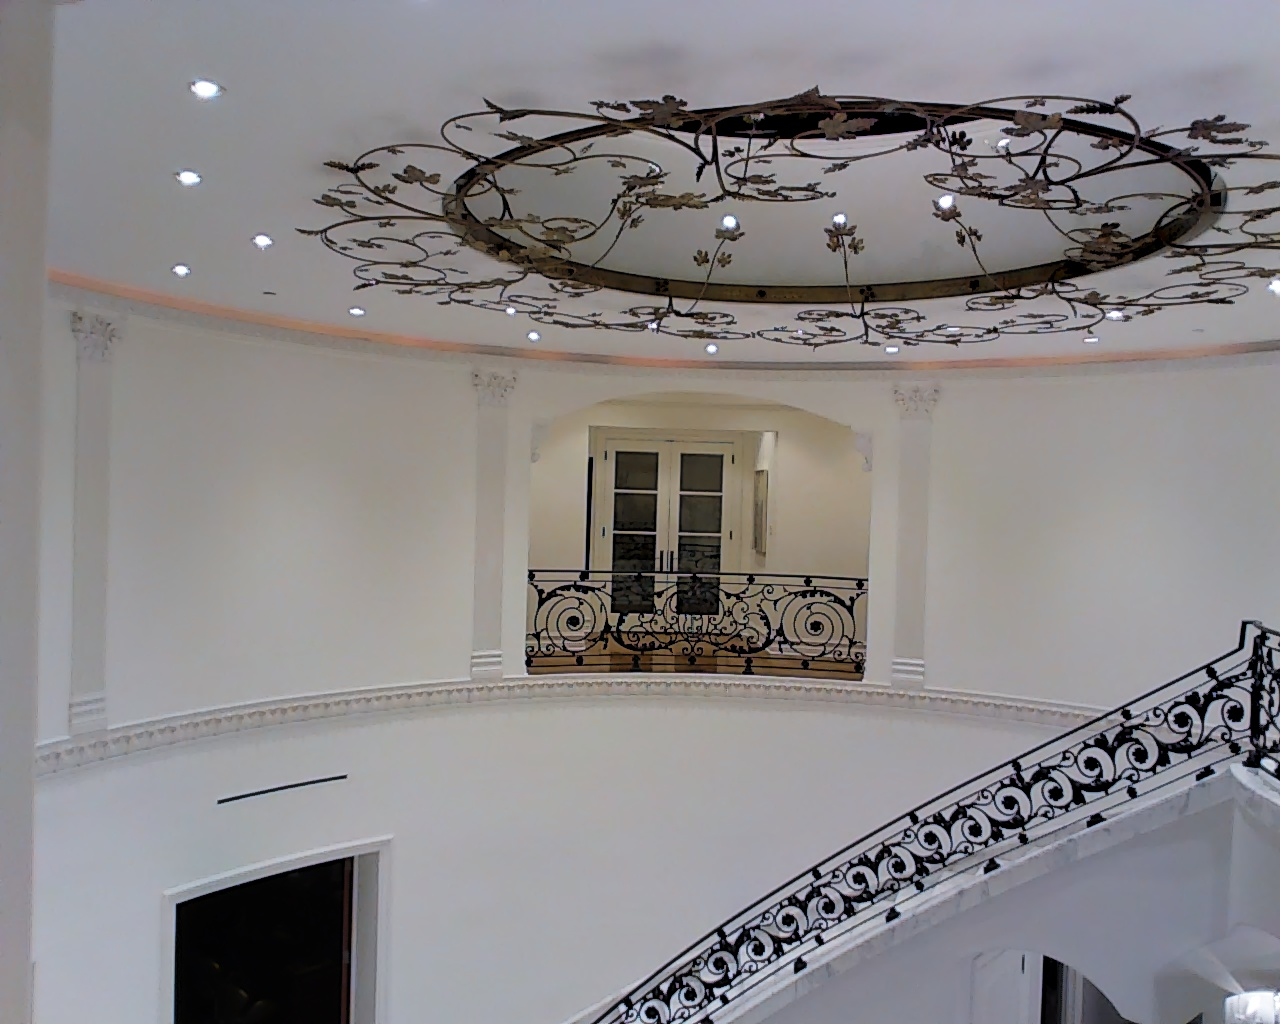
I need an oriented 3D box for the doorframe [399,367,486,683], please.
[{"bbox_3d":[-1.929,0.110,10.370,0.330,2.851,1.380,2,0,-29],"label":"doorframe"}]
